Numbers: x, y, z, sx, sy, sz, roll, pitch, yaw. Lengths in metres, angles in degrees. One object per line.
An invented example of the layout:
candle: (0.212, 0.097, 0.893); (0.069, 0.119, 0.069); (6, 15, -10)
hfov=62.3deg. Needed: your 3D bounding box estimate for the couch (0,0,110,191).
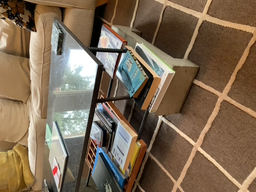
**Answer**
couch: (-0.910, -0.050, 1.900); (0.960, 0.770, 2.190); (48, 131, 42)
